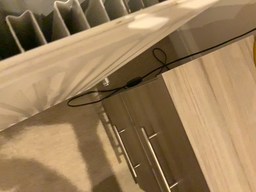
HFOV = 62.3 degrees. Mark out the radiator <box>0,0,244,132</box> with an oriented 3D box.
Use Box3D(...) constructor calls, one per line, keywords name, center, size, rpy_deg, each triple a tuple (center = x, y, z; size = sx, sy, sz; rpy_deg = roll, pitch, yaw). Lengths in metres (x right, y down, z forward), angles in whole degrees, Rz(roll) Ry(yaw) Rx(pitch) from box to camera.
Box3D(name="radiator", center=(-0.430, 0.110, 0.290), size=(0.990, 0.630, 0.080), rpy_deg=(-26, 94, -22))
